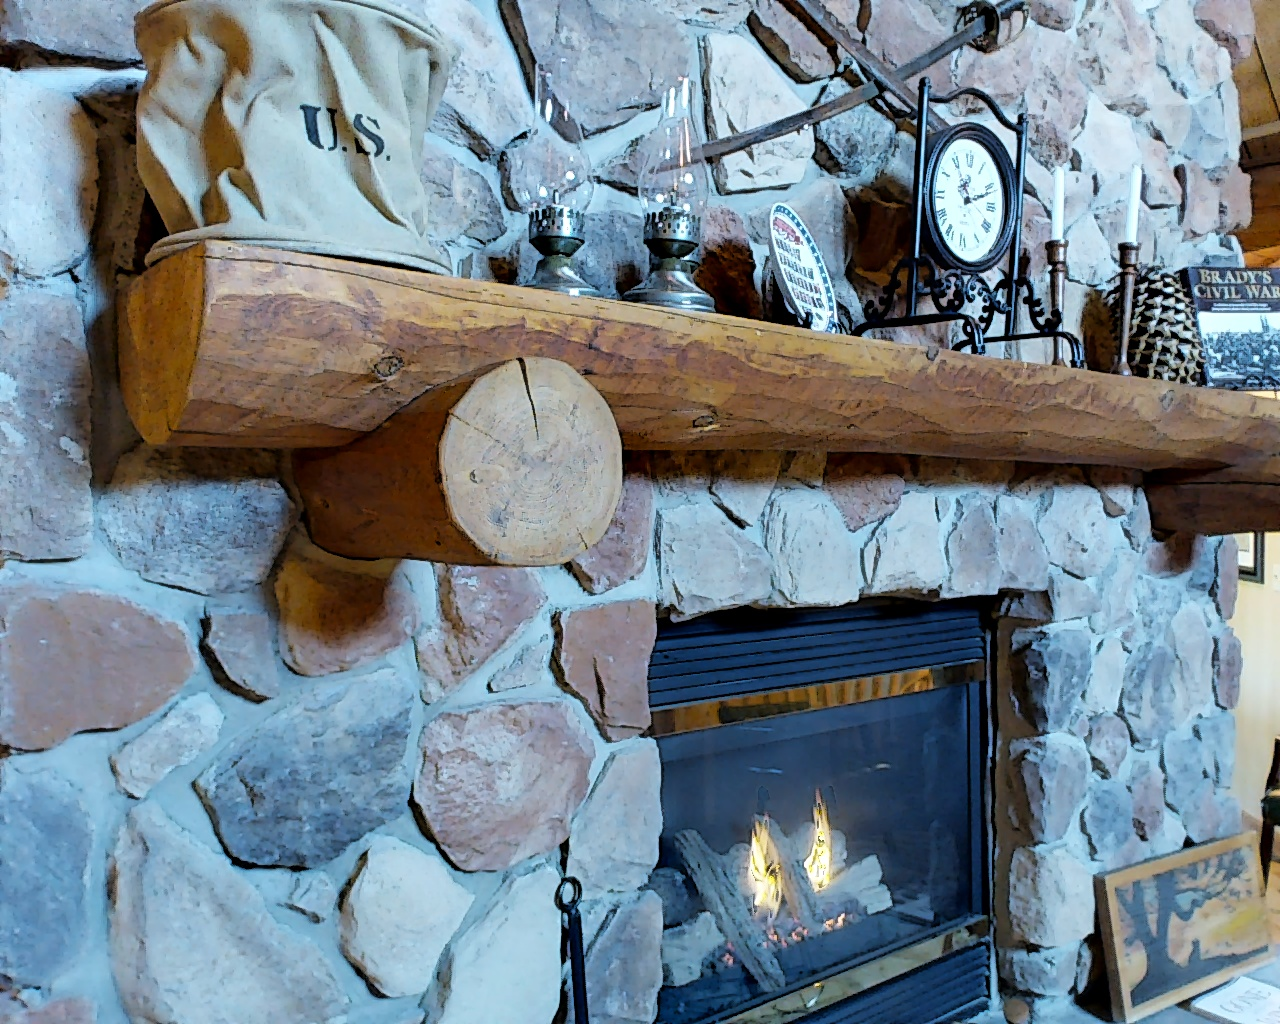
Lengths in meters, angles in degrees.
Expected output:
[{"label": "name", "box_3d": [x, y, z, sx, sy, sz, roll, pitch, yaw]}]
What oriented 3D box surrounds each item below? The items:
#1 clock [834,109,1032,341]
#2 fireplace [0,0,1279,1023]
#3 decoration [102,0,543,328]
[{"label": "clock", "box_3d": [0.500, -0.470, 1.830, 0.300, 0.310, 0.180, 0, 1, -38]}, {"label": "fireplace", "box_3d": [0.280, -0.320, 2.170, 2.970, 3.661, 0.870, 0, 1, -38]}, {"label": "decoration", "box_3d": [-0.320, -0.380, 1.080, 0.340, 0.320, 0.290, 0, 1, -38]}]
